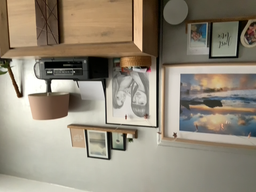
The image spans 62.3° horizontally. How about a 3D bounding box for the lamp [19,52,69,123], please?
[{"bbox_3d":[-0.610,-0.070,1.560,0.250,0.480,0.200,3,-172,19],"label":"lamp"}]
